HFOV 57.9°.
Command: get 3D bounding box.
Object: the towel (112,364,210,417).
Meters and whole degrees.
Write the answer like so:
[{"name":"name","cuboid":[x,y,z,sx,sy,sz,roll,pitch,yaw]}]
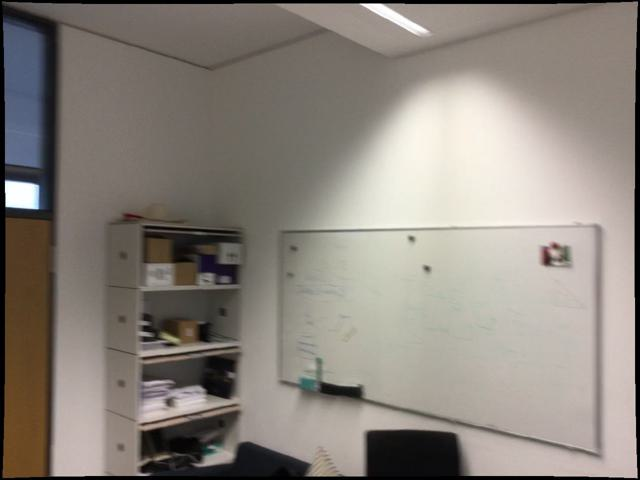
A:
[{"name":"towel","cuboid":[-0.999,0.941,3.670,0.280,0.180,0.530,0,1,44]}]
